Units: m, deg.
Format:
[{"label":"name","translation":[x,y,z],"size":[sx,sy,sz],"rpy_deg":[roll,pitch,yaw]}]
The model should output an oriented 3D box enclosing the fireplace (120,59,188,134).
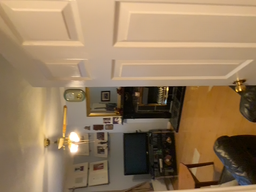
[{"label":"fireplace","translation":[0.460,0.020,4.310],"size":[0.520,1.150,1.420],"rpy_deg":[-104,15,-62]}]
